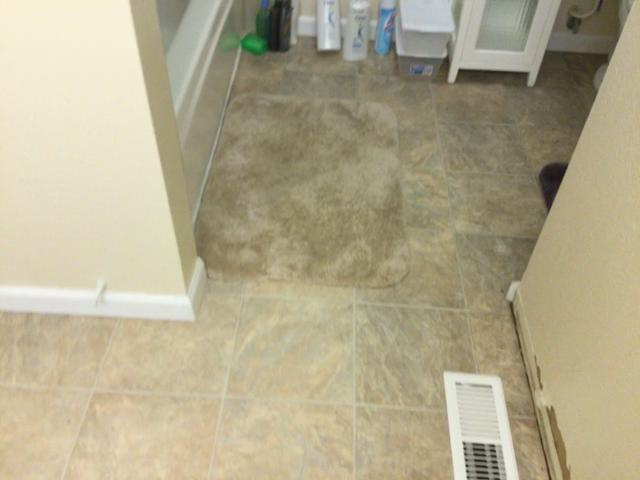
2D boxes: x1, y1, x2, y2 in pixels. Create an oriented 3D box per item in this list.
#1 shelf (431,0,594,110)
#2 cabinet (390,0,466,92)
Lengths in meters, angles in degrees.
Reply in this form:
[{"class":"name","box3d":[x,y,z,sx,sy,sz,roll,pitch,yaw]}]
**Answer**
[{"class":"shelf","box3d":[0.720,-1.010,2.110,0.450,0.910,0.470,4,45,2]},{"class":"cabinet","box3d":[0.430,-0.830,2.390,0.250,0.250,0.380,4,45,2]}]
